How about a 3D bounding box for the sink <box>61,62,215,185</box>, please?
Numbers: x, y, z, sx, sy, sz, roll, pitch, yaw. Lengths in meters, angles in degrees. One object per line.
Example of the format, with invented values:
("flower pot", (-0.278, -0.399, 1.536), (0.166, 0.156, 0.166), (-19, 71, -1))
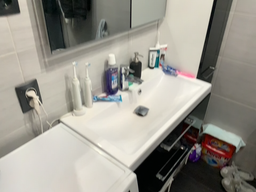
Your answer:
("sink", (0.110, 0.050, 1.160), (0.420, 0.120, 0.810), (25, 40, 31))
